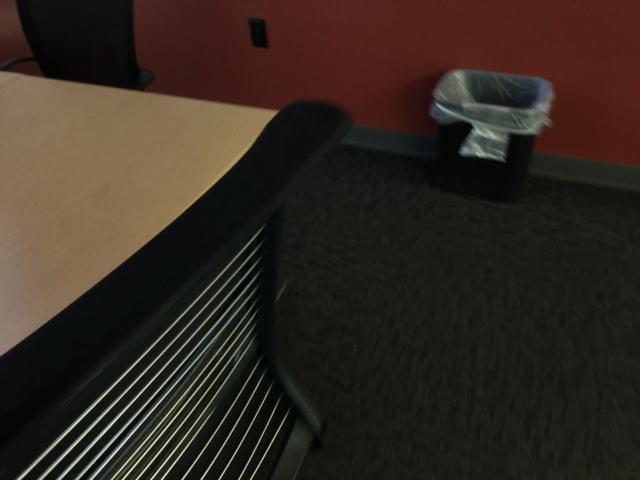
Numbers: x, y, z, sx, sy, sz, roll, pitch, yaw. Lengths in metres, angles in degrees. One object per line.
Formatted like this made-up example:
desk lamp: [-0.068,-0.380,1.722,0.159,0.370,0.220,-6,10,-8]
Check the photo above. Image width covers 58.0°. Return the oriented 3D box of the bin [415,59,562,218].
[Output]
bin: [0.590,-0.370,2.070,0.400,0.410,0.290,15,42,22]
